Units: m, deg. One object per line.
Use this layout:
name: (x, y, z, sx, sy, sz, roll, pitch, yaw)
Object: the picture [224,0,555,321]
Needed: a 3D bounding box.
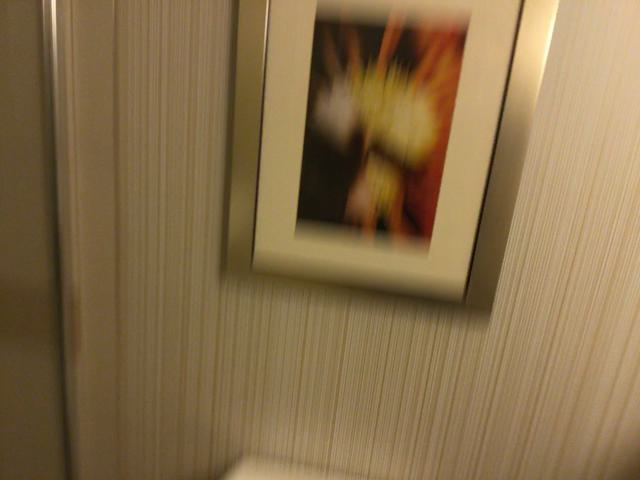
picture: (0.090, -0.190, 0.960, 0.470, 0.610, 0.040, 10, 19, 8)
